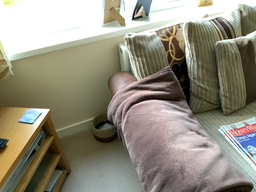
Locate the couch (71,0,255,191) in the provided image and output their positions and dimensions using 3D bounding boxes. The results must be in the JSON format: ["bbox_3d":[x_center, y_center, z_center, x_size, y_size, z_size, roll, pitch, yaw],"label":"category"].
[{"bbox_3d":[0.920,-0.120,1.400,2.180,0.880,1.140,-18,39,-17],"label":"couch"}]

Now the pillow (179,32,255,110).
[{"bbox_3d":[0.620,-0.150,1.240,0.480,0.440,0.180,-20,72,-17],"label":"pillow"}]
